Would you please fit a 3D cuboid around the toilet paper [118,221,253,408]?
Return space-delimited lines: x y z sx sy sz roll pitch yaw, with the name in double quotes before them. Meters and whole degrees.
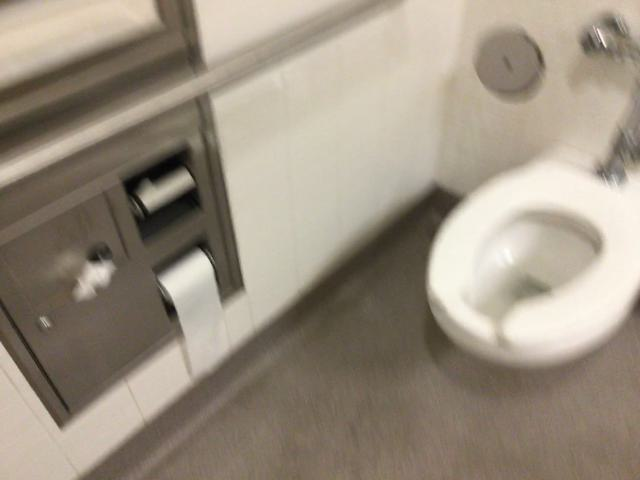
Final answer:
"toilet paper" -0.260 0.160 1.180 0.120 0.350 0.160 32 53 33

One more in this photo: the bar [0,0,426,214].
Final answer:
"bar" -0.260 -0.160 0.740 0.090 0.050 1.180 32 53 33
